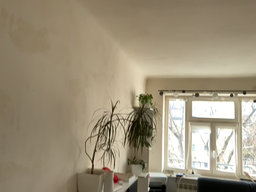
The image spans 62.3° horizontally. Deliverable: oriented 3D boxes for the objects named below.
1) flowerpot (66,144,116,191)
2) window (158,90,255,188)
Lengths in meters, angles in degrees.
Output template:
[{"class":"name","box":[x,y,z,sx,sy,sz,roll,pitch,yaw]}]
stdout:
[{"class":"flowerpot","box":[-0.310,0.660,1.820,0.320,0.440,0.250,1,-8,20]},{"class":"window","box":[1.650,0.770,4.220,2.000,1.750,0.280,1,-8,16]}]
